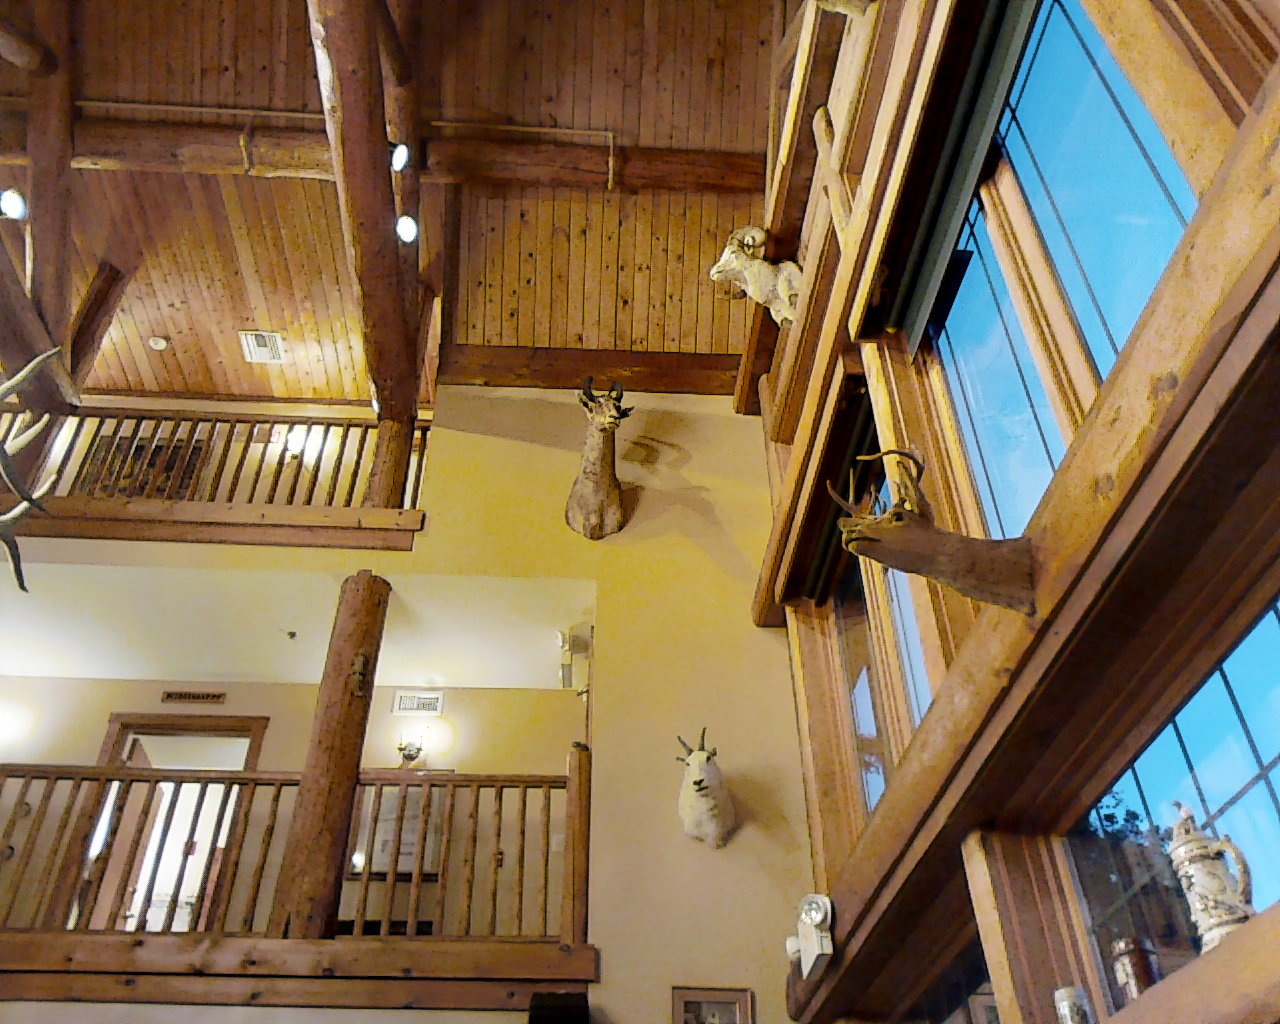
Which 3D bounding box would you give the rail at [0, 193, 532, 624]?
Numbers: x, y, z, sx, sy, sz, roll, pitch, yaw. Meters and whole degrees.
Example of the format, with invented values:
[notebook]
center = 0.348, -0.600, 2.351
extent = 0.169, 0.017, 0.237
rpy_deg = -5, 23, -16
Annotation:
[rail]
center = -4.528, -0.440, 8.370
extent = 7.557, 2.761, 0.520
rpy_deg = -12, -42, 14
